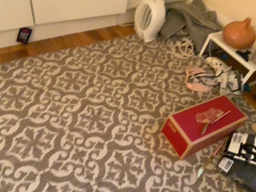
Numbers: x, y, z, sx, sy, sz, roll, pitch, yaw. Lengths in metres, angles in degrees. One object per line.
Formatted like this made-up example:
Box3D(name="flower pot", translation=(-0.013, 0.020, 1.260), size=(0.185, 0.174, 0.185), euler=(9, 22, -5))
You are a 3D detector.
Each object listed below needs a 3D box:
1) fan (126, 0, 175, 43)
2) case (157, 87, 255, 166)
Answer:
Box3D(name="fan", translation=(0.130, -0.480, 1.280), size=(0.200, 0.200, 0.150), euler=(38, 52, 20))
Box3D(name="case", translation=(0.330, 0.110, 0.870), size=(0.370, 0.110, 0.180), euler=(-18, 56, -26))
